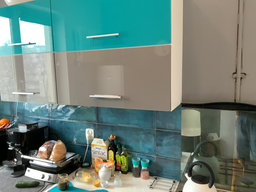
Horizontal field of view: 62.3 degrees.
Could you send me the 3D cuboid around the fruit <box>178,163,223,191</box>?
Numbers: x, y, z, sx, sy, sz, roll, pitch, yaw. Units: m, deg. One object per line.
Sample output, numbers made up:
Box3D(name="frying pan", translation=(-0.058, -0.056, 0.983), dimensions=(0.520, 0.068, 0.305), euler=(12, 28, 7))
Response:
Box3D(name="fruit", translation=(0.440, 0.540, 1.270), dimensions=(0.220, 0.140, 0.270), euler=(3, 8, 26))
